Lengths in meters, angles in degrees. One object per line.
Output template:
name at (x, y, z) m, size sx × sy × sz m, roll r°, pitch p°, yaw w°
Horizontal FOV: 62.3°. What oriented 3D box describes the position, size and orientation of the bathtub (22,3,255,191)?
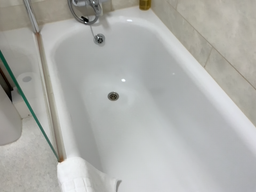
bathtub at (0.060, 0.310, 0.960) m, size 0.720 × 0.580 × 1.660 m, roll -16°, pitch 53°, yaw -14°
